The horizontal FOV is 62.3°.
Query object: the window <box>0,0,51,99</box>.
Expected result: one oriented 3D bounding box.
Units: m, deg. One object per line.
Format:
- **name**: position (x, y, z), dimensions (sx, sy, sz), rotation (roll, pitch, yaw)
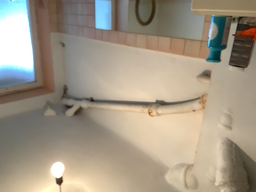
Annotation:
- **window**: position (-1.330, -0.560, 2.180), dimensions (0.910, 1.160, 0.220), rotation (-16, -152, -39)
